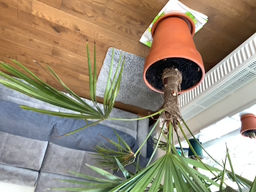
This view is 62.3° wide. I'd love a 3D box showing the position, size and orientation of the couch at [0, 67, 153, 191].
[{"bbox_3d":[-0.980,0.540,2.480,2.300,0.950,1.050,18,145,-17],"label":"couch"}]
